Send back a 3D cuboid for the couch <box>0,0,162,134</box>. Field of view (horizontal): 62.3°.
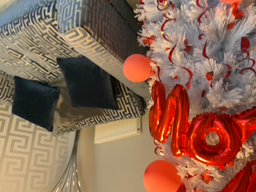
[{"bbox_3d":[-0.570,-0.220,1.780,1.360,0.730,1.080,-12,153,28],"label":"couch"}]
